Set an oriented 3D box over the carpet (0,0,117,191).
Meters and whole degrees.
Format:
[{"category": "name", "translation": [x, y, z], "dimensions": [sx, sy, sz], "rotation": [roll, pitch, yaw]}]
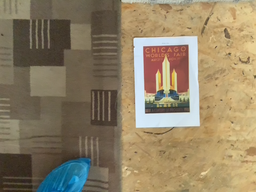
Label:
[{"category": "carpet", "translation": [-0.400, 0.060, 0.710], "dimensions": [0.700, 0.050, 1.290], "rotation": [-2, 90, -1]}]
